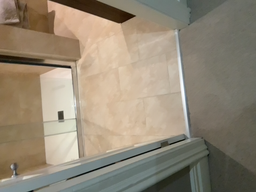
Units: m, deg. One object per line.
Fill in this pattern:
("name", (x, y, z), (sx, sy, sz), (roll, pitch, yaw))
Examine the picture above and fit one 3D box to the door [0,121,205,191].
("door", (-0.540, 0.400, 0.900), (0.930, 1.990, 0.170), (-22, 77, 41))
